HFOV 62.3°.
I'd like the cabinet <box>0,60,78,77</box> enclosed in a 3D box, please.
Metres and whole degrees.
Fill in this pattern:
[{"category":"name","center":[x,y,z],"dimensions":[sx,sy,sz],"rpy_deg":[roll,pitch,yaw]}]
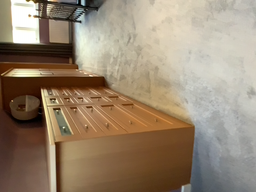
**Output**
[{"category":"cabinet","center":[-2.460,-0.720,5.530],"dimensions":[0.960,2.090,0.370],"rpy_deg":[-156,66,-64]}]

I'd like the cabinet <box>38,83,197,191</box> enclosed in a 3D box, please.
[{"category":"cabinet","center":[-0.420,0.260,2.350],"dimensions":[2.230,0.980,0.510],"rpy_deg":[-156,66,-64]}]
